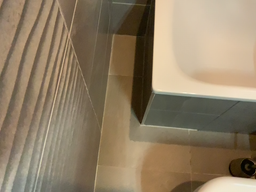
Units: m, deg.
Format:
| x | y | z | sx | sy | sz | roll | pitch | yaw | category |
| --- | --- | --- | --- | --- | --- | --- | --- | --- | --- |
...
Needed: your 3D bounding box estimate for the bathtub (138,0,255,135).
| x | y | z | sx | sy | sz | roll | pitch | yaw | category |
| --- | --- | --- | --- | --- | --- | --- | --- | --- | --- |
| 0.940 | -0.180 | 1.220 | 1.690 | 0.560 | 0.710 | 5 | 66 | 0 | bathtub |
